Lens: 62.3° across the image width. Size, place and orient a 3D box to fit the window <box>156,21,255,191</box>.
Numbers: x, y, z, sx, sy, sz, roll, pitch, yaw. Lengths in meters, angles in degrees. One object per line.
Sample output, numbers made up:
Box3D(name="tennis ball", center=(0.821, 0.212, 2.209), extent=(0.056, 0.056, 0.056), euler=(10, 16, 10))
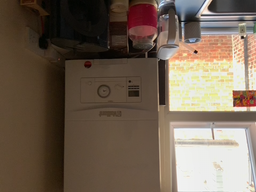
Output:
Box3D(name="window", center=(0.570, 0.150, 1.490), extent=(0.690, 1.260, 0.300), euler=(0, 177, 0))

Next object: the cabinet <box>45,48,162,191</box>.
Box3D(name="cabinet", center=(-0.100, 0.190, 1.080), extent=(0.480, 0.760, 0.400), euler=(0, 177, 1))
